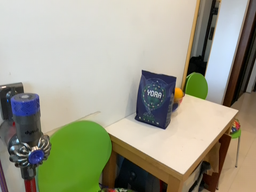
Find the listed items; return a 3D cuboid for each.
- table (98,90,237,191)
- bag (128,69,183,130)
[{"bbox_3d":[0.300,0.490,1.530,0.500,0.760,0.920,21,27,34],"label":"table"},{"bbox_3d":[0.160,0.010,1.290,0.250,0.270,0.160,22,28,35],"label":"bag"}]
